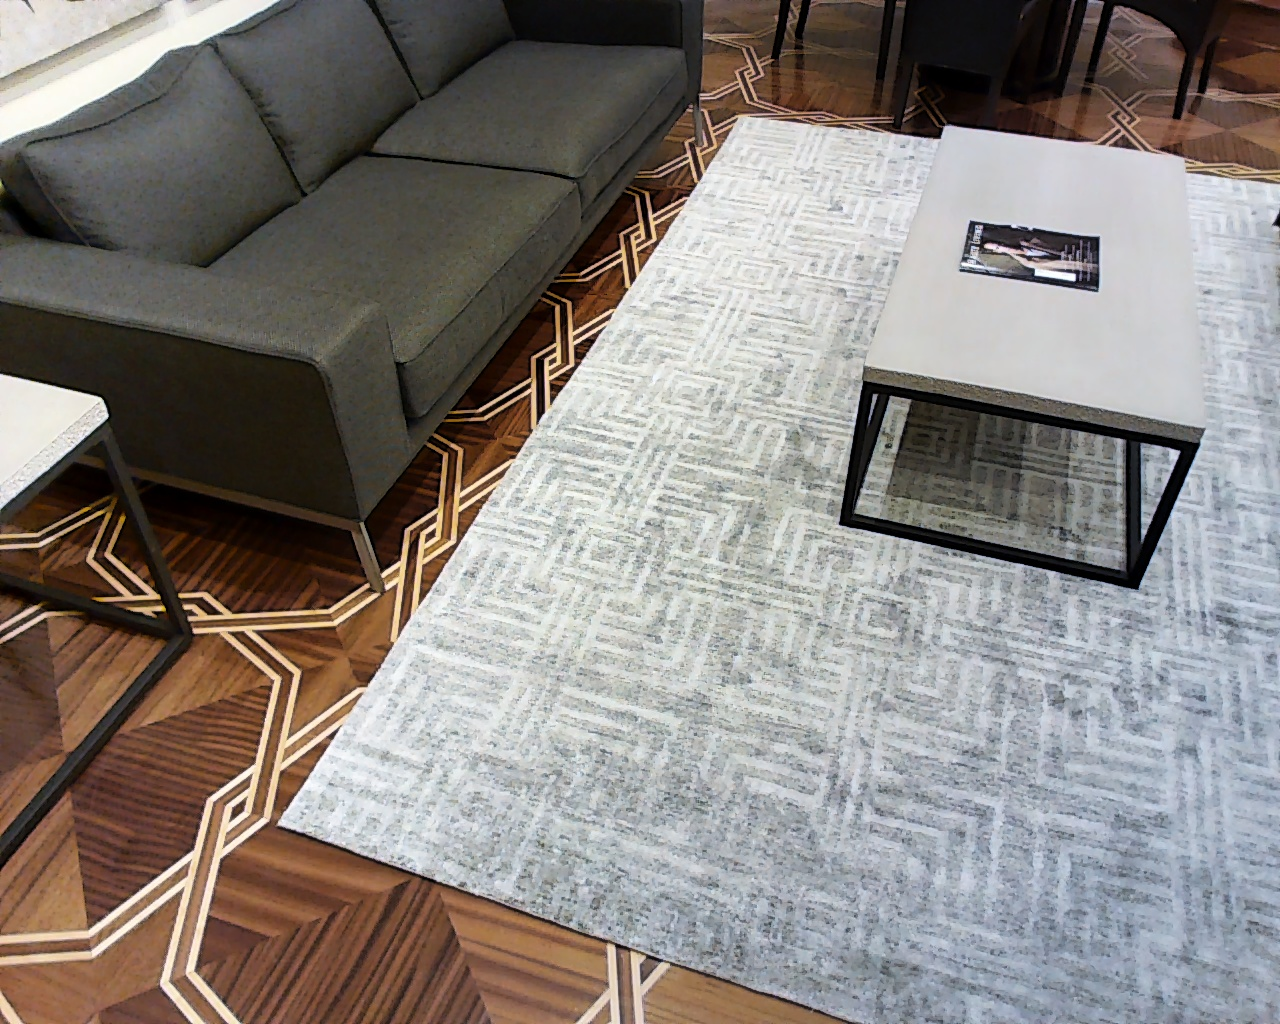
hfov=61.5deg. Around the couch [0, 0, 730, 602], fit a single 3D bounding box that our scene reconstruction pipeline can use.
[{"bbox_3d":[-0.630,-1.030,3.110,1.100,0.790,2.590,13,43,15],"label":"couch"}]
